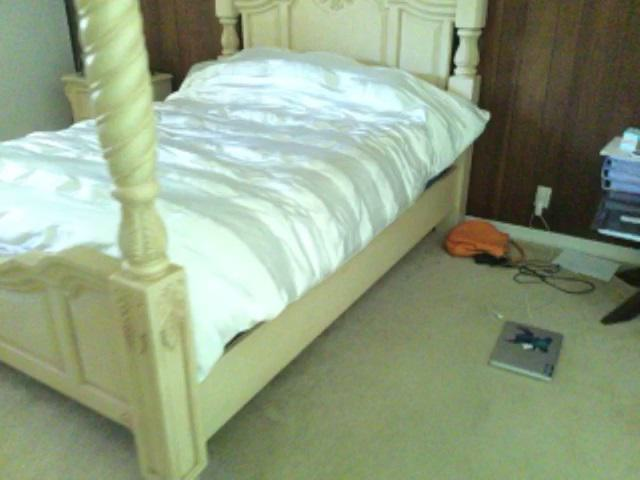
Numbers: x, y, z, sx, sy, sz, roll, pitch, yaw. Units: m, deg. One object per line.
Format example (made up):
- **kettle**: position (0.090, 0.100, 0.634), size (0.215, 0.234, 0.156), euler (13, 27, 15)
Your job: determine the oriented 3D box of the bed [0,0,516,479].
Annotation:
- **bed**: position (-0.540, -0.840, 2.330), size (2.050, 2.260, 2.330), euler (14, 29, 27)
